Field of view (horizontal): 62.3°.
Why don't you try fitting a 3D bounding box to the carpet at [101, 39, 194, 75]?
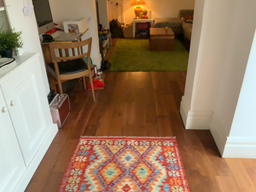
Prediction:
[{"bbox_3d":[0.360,-0.950,4.670,1.570,0.070,2.370,0,28,2],"label":"carpet"}]
